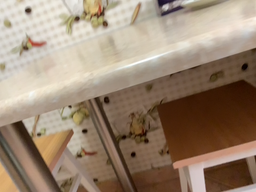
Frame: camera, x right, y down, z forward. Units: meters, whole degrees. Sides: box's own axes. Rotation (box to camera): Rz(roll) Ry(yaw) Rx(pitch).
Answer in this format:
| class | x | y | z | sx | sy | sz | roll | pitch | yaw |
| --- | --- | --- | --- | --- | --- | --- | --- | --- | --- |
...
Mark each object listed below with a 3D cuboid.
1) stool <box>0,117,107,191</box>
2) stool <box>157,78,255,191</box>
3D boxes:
| class | x | y | z | sx | sy | sz | roll | pitch | yaw |
| --- | --- | --- | --- | --- | --- | --- | --- | --- | --- |
| stool | -0.300 | 0.400 | 0.770 | 0.310 | 0.480 | 0.340 | -16 | 21 | 9 |
| stool | 0.310 | 0.240 | 0.660 | 0.300 | 0.450 | 0.310 | -16 | 21 | 9 |
